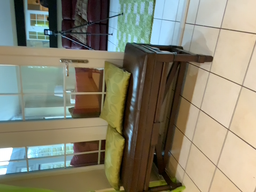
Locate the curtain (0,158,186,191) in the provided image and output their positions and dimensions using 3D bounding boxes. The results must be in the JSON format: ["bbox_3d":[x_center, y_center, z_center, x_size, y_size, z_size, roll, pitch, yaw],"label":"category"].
[{"bbox_3d":[-0.550,0.840,1.720,0.220,2.160,0.330,-131,43,-62],"label":"curtain"}]

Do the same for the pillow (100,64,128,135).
[{"bbox_3d":[-0.130,0.020,1.780,0.320,0.120,0.510,-131,43,-61],"label":"pillow"}]

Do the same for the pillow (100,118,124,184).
[{"bbox_3d":[-0.160,0.490,1.940,0.370,0.110,0.440,-129,41,-61],"label":"pillow"}]
